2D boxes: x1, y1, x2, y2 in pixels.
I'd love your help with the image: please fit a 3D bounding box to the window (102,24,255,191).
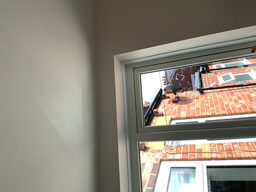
[{"bbox_3d":[0.510,0.270,1.420,0.300,1.350,1.310,26,-121,-67],"label":"window"}]
